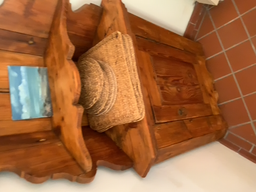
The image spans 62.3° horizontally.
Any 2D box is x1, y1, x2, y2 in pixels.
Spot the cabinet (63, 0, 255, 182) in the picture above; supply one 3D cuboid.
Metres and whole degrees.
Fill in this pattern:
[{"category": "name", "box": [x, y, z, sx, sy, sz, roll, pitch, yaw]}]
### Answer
[{"category": "cabinet", "box": [0.220, -0.070, 1.100, 0.510, 0.820, 0.550, 32, 111, 36]}]
